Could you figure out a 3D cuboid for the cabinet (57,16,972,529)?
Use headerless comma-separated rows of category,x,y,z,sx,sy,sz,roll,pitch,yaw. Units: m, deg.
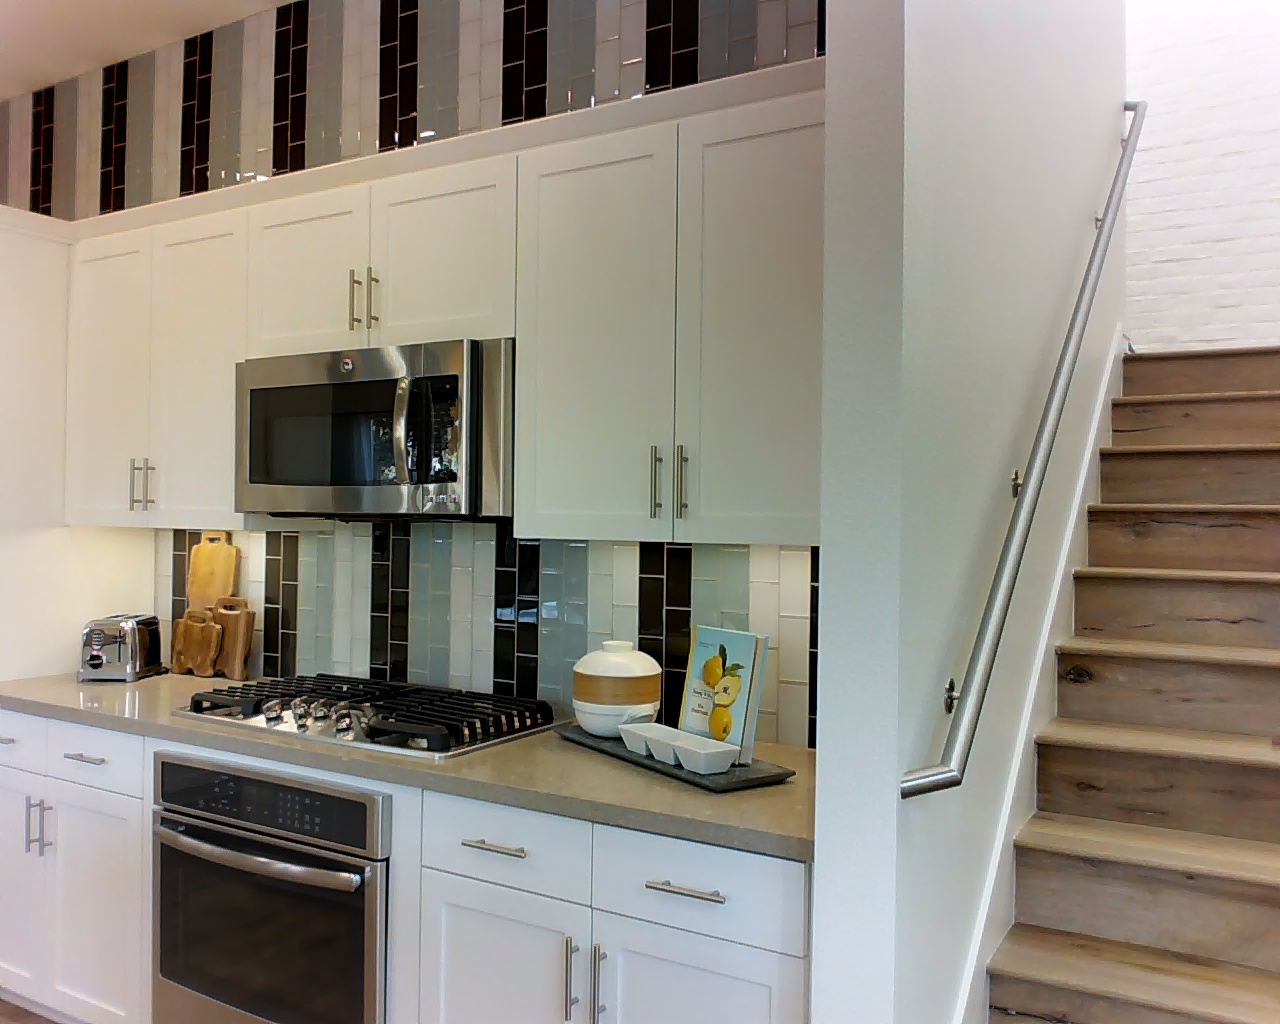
cabinet,-0.540,-0.440,2.810,2.669,0.940,0.400,0,-1,30
